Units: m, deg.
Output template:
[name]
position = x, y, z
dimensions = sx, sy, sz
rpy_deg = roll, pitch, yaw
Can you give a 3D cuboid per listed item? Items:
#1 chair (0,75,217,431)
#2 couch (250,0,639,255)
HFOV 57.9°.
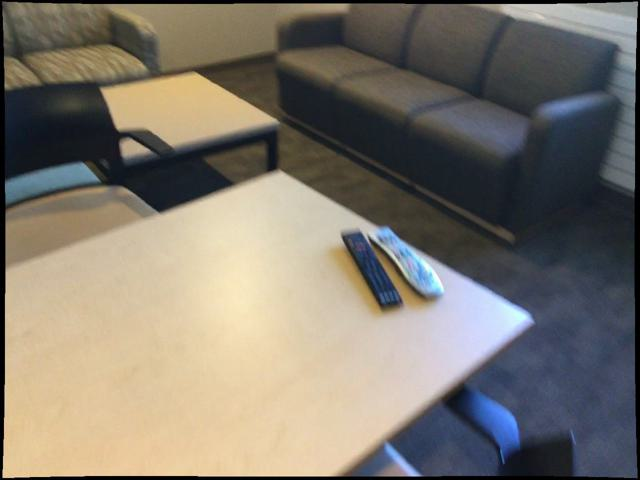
[chair]
position = -0.729, 0.000, 1.740
dimensions = 0.540, 0.730, 0.610
rpy_deg = -26, 44, -35
[couch]
position = 0.539, -0.831, 3.080
dimensions = 0.860, 0.781, 1.870
rpy_deg = -26, 44, -35
